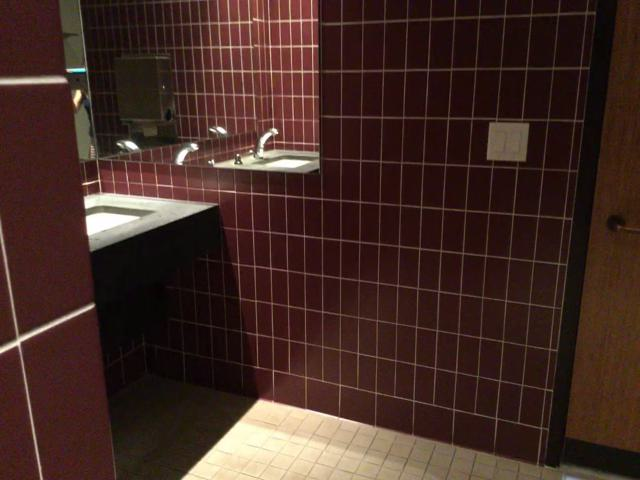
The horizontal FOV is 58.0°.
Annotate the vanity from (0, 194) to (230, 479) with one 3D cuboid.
[{"bbox_3d":[-1.000,0.350,1.790,0.600,0.710,1.660,5,15,23],"label":"vanity"}]
